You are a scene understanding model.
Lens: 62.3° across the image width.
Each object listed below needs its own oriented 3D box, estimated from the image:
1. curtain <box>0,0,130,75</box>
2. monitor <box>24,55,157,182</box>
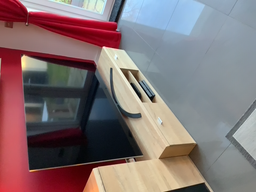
[{"bbox_3d":[-1.150,-0.750,2.600,0.680,2.320,0.340,-64,38,32],"label":"curtain"},{"bbox_3d":[-0.440,0.060,1.970,1.440,0.880,0.080,58,134,44],"label":"monitor"}]
